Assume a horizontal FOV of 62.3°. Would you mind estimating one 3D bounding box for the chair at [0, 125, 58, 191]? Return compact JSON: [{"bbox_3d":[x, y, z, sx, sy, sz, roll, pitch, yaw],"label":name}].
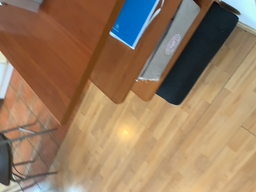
[{"bbox_3d":[-1.110,0.590,1.850,0.390,0.830,0.430,20,103,32],"label":"chair"}]
